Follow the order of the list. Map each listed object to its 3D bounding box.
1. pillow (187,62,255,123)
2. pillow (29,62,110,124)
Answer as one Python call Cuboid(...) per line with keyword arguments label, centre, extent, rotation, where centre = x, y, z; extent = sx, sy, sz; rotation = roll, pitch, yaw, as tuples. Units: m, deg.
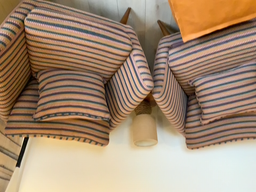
Cuboid(label="pillow", centre=(0.670, -0.030, 1.470), extent=(0.450, 0.330, 0.200), rotation=(-13, 117, 18))
Cuboid(label="pillow", centre=(-0.360, -0.020, 1.380), extent=(0.430, 0.290, 0.170), rotation=(11, 138, -9))
